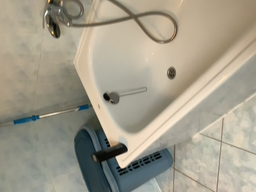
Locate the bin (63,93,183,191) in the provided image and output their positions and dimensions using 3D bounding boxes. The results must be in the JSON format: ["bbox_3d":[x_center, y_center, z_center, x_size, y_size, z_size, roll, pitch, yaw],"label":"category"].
[{"bbox_3d":[-0.060,0.370,1.540,0.600,0.580,0.360,62,141,22],"label":"bin"}]
